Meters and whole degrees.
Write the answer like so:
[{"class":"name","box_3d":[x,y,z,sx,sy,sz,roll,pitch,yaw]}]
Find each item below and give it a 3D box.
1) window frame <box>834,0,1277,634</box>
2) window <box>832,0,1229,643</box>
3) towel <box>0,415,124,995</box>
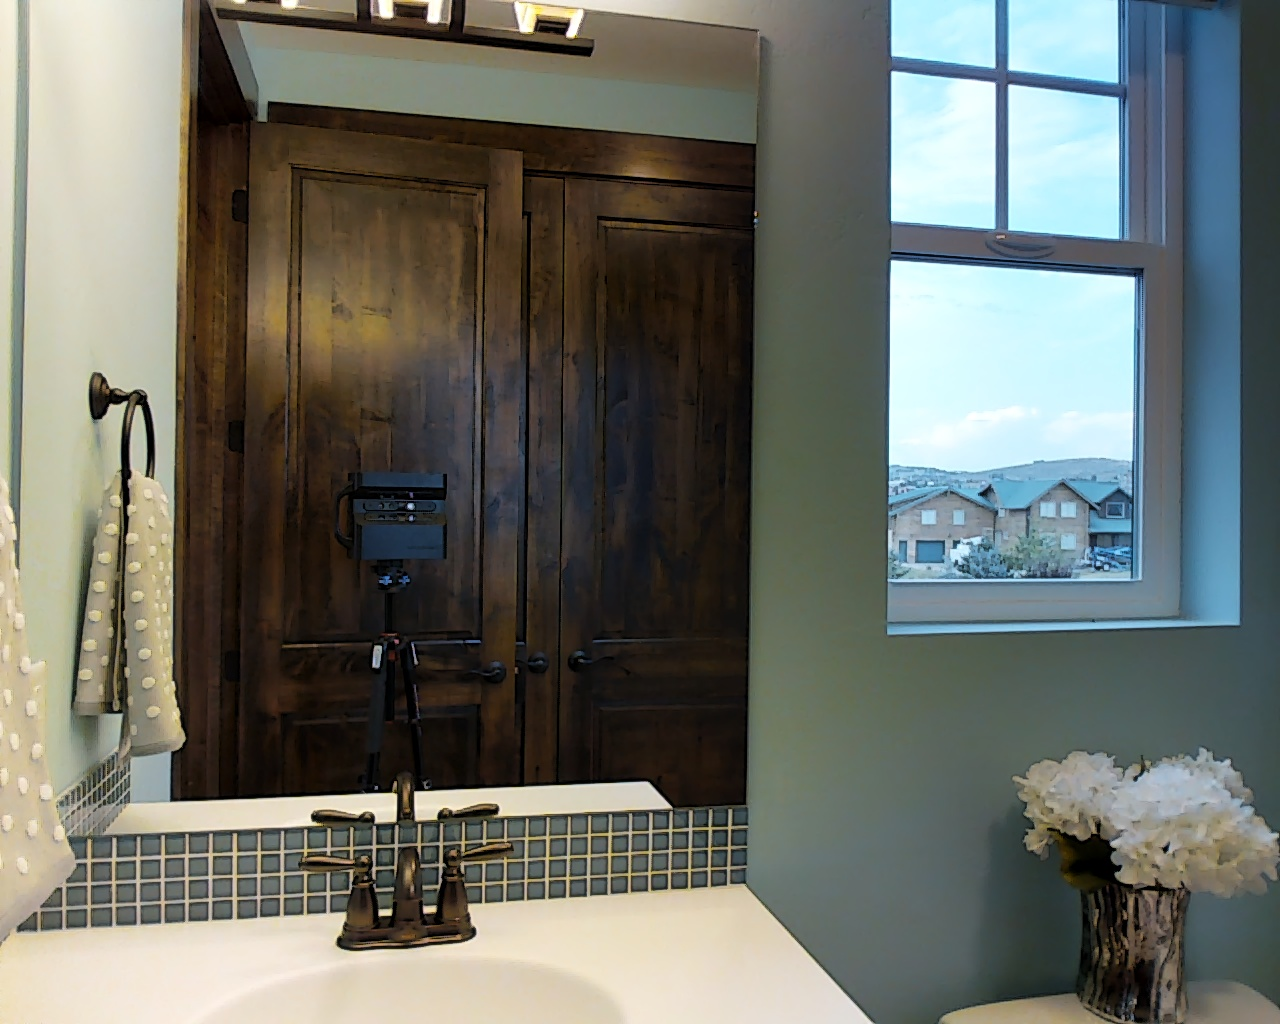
[{"class":"window frame","box_3d":[0.620,-0.350,1.620,0.580,1.040,0.240,1,-1,-13]},{"class":"window","box_3d":[0.600,-0.320,1.660,0.550,1.020,0.190,1,-1,-12]},{"class":"towel","box_3d":[-0.540,0.150,0.910,0.140,0.450,0.170,1,-1,-13]}]
